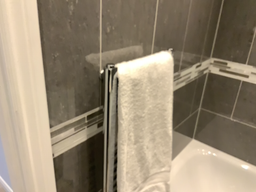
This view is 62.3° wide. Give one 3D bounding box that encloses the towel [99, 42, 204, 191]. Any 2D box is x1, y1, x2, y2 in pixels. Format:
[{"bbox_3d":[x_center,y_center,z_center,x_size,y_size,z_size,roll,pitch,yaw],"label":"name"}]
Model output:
[{"bbox_3d":[0.070,0.270,0.910,0.190,0.930,0.340,22,30,35],"label":"towel"}]
